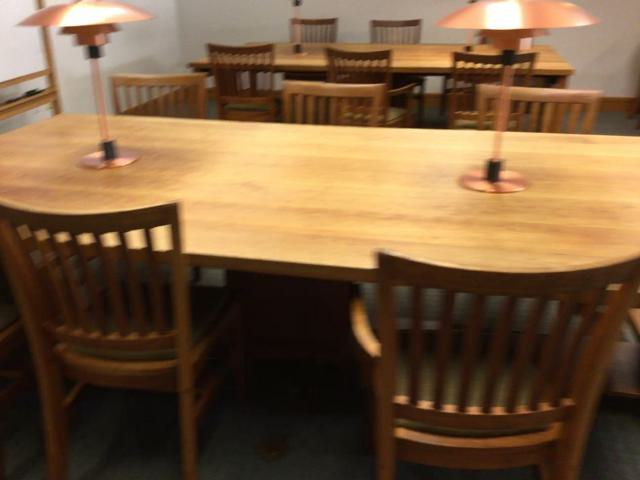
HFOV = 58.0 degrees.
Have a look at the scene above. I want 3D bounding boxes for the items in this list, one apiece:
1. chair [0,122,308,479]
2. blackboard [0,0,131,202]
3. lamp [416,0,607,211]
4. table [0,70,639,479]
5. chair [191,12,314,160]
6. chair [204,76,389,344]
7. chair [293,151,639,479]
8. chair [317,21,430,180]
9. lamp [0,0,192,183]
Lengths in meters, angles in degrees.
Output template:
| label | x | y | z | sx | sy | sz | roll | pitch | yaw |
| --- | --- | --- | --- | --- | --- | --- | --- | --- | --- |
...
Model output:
| label | x | y | z | sx | sy | sz | roll | pitch | yaw |
| --- | --- | --- | --- | --- | --- | --- | --- | --- | --- |
| chair | -0.480 | 0.220 | 1.710 | 0.660 | 0.960 | 0.670 | 4 | 28 | 15 |
| blackboard | -1.880 | -1.150 | 3.690 | 0.620 | 1.560 | 0.870 | 4 | 28 | 15 |
| lamp | 0.530 | -0.430 | 1.700 | 0.440 | 0.550 | 0.400 | 4 | 28 | 15 |
| table | -0.090 | 0.040 | 2.120 | 2.880 | 0.950 | 1.580 | 4 | 28 | 15 |
| chair | -0.470 | -1.180 | 4.390 | 0.620 | 0.940 | 0.680 | 4 | 28 | 15 |
| chair | -0.030 | -0.170 | 2.520 | 0.540 | 0.910 | 0.740 | 4 | 28 | 15 |
| chair | 0.340 | 0.340 | 1.410 | 0.570 | 0.940 | 0.620 | 4 | 28 | 15 |
| chair | 0.400 | -0.980 | 4.020 | 0.640 | 0.930 | 0.620 | 4 | 28 | 15 |
| lamp | -0.760 | -0.540 | 2.000 | 0.400 | 0.560 | 0.400 | 4 | 28 | 15 |
